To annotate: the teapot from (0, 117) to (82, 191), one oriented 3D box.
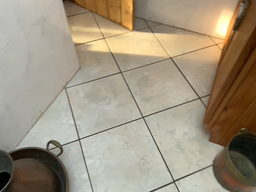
[{"bbox_3d":[-0.580,0.440,1.010,0.470,0.390,0.480,20,57,14],"label":"teapot"}]
